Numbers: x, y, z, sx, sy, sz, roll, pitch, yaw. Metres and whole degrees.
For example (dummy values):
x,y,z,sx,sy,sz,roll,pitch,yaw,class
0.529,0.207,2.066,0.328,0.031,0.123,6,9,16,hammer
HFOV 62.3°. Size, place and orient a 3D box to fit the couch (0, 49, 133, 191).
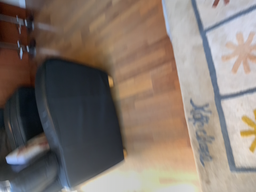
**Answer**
x,y,z,sx,sy,sz,roll,pitch,yaw,class
-0.650,0.280,1.880,0.910,0.860,0.960,-20,75,45,couch
